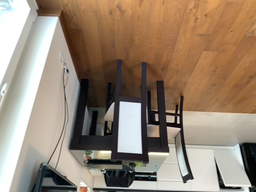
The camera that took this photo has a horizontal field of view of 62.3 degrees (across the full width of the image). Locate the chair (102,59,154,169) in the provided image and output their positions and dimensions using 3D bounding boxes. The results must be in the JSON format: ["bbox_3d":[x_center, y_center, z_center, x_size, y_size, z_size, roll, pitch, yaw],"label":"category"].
[{"bbox_3d":[-0.010,0.170,2.020,0.390,0.900,0.480,4,150,-4],"label":"chair"}]
